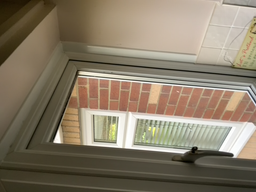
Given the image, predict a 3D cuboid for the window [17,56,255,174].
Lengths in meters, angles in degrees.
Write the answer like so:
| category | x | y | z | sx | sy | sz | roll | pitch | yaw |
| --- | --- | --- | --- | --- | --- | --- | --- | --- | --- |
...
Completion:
| category | x | y | z | sx | sy | sz | roll | pitch | yaw |
| --- | --- | --- | --- | --- | --- | --- | --- | --- | --- |
| window | 0.160 | 0.040 | 0.840 | 0.510 | 0.950 | 0.050 | -88 | 4 | -51 |
